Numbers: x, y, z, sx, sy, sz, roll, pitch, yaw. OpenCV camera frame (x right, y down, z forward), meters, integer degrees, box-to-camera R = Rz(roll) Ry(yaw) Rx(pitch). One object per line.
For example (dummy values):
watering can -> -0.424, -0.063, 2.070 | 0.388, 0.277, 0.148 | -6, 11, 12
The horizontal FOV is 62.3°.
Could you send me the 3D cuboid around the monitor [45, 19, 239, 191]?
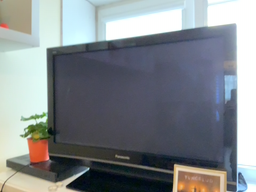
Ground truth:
monitor -> -0.020, 0.060, 0.960 | 0.920, 0.660, 0.050 | 0, 1, 26
